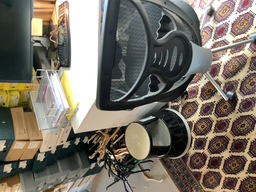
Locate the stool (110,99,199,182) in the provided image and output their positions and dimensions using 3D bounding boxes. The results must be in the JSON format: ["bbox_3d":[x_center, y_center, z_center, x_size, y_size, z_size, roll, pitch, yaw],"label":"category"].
[{"bbox_3d":[0.190,0.320,1.640,0.400,0.380,0.410,54,128,31],"label":"stool"}]

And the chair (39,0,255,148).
[{"bbox_3d":[0.150,-0.230,1.190,0.610,1.000,0.580,36,118,41],"label":"chair"}]

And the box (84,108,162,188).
[{"bbox_3d":[-0.070,0.470,1.970,0.390,0.360,0.600,53,127,32],"label":"box"}]

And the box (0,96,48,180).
[{"bbox_3d":[-1.080,0.370,1.820,0.440,0.510,0.590,54,128,31],"label":"box"}]
